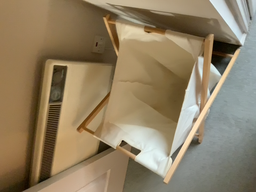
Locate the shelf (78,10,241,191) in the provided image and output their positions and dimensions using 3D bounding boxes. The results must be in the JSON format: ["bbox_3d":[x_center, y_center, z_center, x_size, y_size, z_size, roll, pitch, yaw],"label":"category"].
[{"bbox_3d":[0.180,-0.030,1.030,0.480,0.600,0.570,18,105,29],"label":"shelf"}]
